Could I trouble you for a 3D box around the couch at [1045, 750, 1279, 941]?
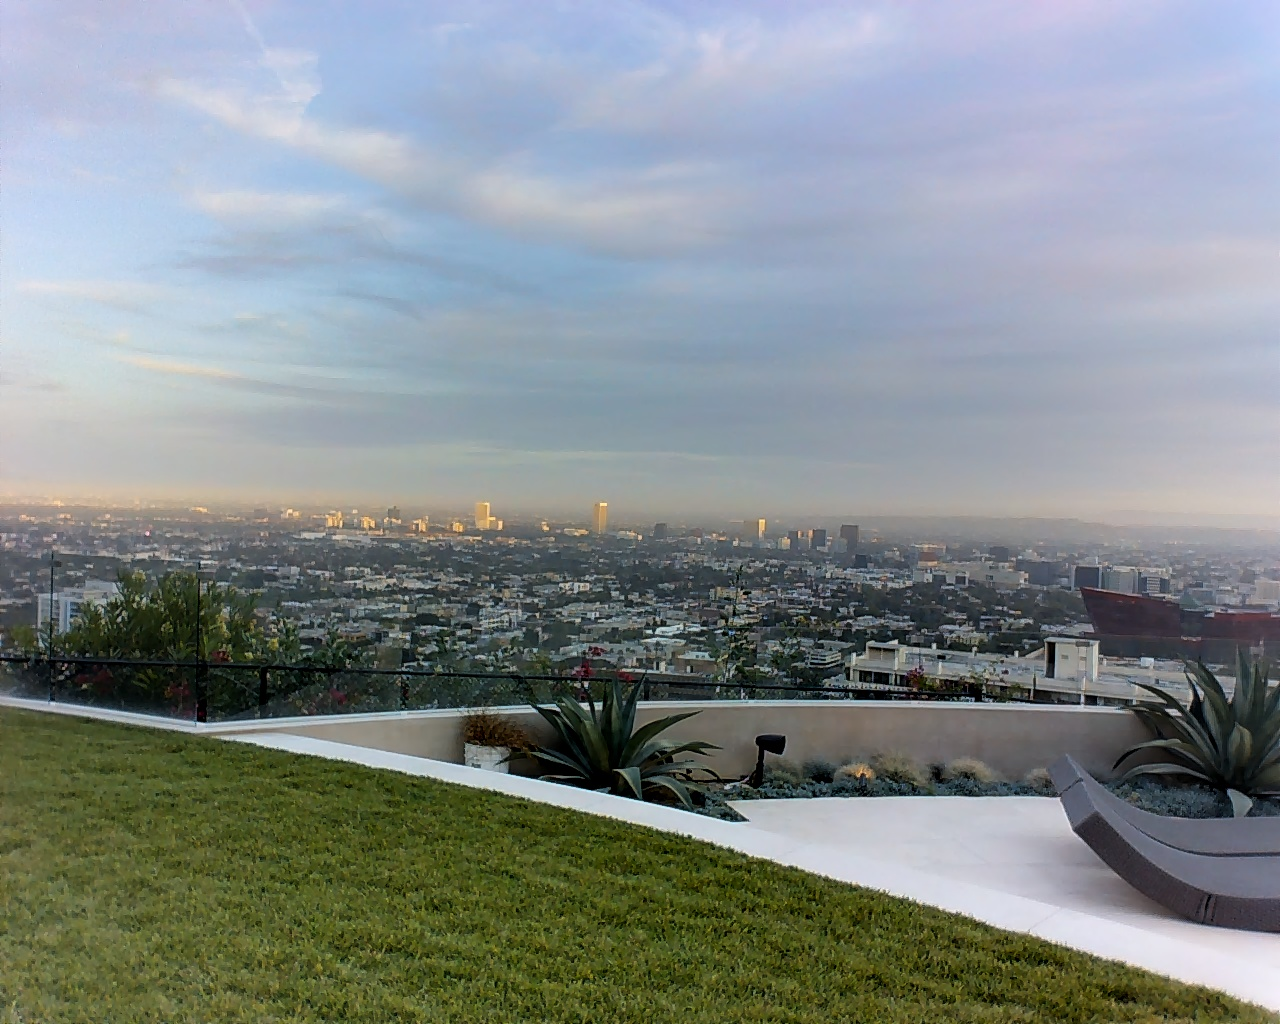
[{"bbox_3d":[3.380,1.790,5.810,2.090,0.500,1.530,2,1,15],"label":"couch"}]
